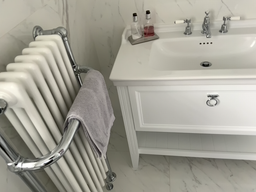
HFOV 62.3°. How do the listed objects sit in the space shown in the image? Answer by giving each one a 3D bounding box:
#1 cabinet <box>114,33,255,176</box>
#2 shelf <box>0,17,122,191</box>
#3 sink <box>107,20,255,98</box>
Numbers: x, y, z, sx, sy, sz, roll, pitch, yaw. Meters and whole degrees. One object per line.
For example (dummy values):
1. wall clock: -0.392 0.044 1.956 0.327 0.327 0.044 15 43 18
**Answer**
1. cabinet: 0.480 0.070 1.410 0.950 0.740 0.540 0 41 11
2. shelf: -0.240 0.230 0.980 0.200 1.020 0.440 2 41 13
3. sink: 0.440 -0.220 1.160 1.010 0.140 0.540 0 41 11
